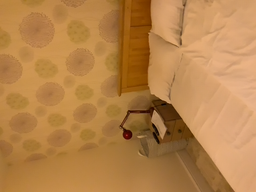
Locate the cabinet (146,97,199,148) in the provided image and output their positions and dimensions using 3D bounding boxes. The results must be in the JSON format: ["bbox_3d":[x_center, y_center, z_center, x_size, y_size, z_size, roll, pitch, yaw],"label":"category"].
[{"bbox_3d":[0.550,0.330,2.750,0.420,0.460,0.410,-118,25,-49],"label":"cabinet"}]
